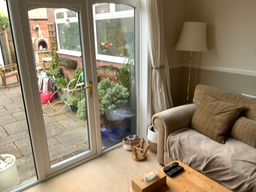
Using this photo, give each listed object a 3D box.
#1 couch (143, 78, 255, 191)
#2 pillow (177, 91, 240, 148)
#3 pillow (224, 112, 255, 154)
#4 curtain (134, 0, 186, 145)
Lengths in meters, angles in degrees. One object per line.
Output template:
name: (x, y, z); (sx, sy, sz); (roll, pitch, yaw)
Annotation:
couch: (1.430, 0.550, 2.140); (1.240, 0.890, 2.360); (-15, 23, -39)
pillow: (0.950, 0.260, 2.530); (0.490, 0.510, 0.220); (21, -14, 45)
pillow: (1.270, 0.390, 2.250); (0.190, 0.300, 0.380); (-16, 23, -40)
curtain: (0.440, -0.600, 3.010); (0.710, 2.590, 0.240); (-12, 21, -32)
